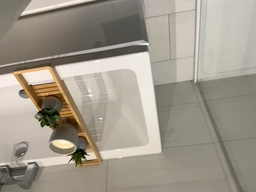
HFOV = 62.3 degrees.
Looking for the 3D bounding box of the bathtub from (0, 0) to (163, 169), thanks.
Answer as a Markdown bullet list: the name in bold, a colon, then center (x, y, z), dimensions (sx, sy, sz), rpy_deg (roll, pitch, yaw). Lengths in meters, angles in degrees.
- **bathtub**: center (-0.700, -0.010, 1.230), dimensions (1.680, 0.550, 0.690), rpy_deg (-8, 134, 6)
